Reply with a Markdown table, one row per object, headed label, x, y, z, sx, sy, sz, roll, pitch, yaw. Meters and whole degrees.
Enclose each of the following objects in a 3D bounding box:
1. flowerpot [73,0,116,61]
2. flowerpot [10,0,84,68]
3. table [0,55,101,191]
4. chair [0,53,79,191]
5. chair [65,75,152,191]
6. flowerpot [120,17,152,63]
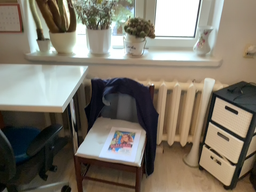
| label | x | y | z | sx | sy | sz | roll | pitch | yaw |
| --- | --- | --- | --- | --- | --- | --- | --- | --- | --- |
| flowerpot | -0.250 | -0.560 | 1.680 | 0.280 | 0.510 | 0.190 | 4 | 27 | 6 |
| flowerpot | -0.570 | -0.730 | 1.480 | 0.350 | 0.980 | 0.340 | 4 | 27 | 6 |
| table | -0.640 | 0.230 | 1.580 | 0.690 | 0.840 | 0.770 | 4 | 27 | 5 |
| chair | -0.760 | 0.350 | 1.180 | 0.710 | 1.000 | 0.710 | 2 | 27 | 2 |
| chair | -0.090 | 0.320 | 1.490 | 0.430 | 0.780 | 0.490 | 5 | 27 | 8 |
| flowerpot | 0.070 | -0.460 | 1.730 | 0.230 | 0.310 | 0.250 | 4 | 27 | 5 |
